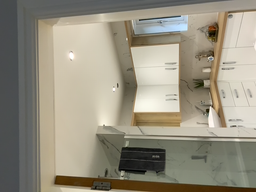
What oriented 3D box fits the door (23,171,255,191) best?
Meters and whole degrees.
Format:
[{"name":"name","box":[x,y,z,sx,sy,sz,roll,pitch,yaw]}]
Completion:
[{"name":"door","box":[0.630,0.450,1.020,0.690,2.060,0.040,63,-152,-65]}]

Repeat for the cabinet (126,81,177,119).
[{"name":"cabinet","box":[0.410,0.070,3.550,0.250,0.770,0.610,77,-163,-45]}]

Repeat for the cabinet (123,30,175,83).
[{"name":"cabinet","box":[0.380,-0.610,3.470,0.810,0.750,0.270,77,-163,-46]}]
